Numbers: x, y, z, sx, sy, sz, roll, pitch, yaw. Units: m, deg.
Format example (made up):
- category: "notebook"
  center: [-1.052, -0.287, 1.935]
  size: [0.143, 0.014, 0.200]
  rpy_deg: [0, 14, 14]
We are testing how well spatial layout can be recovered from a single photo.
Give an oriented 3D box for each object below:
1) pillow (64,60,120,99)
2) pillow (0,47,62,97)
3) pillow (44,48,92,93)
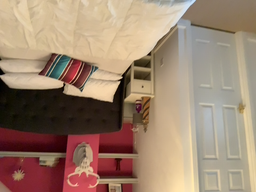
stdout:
- category: "pillow"
  center: [-0.500, -0.220, 2.880]
  size: [0.690, 0.430, 0.240]
  rpy_deg: [2, -150, -17]
- category: "pillow"
  center: [-1.180, -0.290, 2.640]
  size: [0.640, 0.480, 0.290]
  rpy_deg: [5, -147, -12]
- category: "pillow"
  center: [-0.710, -0.320, 2.530]
  size: [0.240, 0.380, 0.490]
  rpy_deg: [31, -145, 31]
